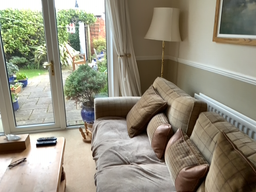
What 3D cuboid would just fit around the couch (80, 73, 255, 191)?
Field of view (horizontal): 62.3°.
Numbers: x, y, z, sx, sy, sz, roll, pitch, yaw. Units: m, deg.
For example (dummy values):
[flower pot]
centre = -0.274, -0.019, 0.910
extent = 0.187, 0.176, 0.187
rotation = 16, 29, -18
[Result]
[couch]
centre = 0.250, 0.520, 1.670
extent = 1.140, 0.920, 2.400
rotation = -3, 18, -11
